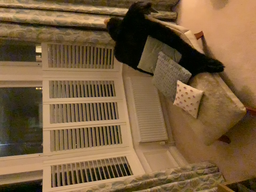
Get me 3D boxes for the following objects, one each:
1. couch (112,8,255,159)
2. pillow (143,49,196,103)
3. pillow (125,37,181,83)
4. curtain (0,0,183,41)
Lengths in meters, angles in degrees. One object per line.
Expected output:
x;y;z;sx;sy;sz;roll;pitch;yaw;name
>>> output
0.460;-0.210;2.230;0.590;0.890;1.460;111;150;-47;couch
0.420;-0.200;2.270;0.470;0.460;0.200;-23;64;-7;pillow
0.290;-0.380;2.370;0.500;0.430;0.120;-28;65;17;pillow
-0.710;-1.130;2.420;0.170;3.000;0.790;-148;59;-66;curtain
